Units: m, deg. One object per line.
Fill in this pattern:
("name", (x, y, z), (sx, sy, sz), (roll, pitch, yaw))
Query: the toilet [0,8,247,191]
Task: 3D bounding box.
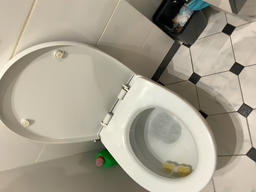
("toilet", (0.050, 0.130, 0.770), (0.520, 0.860, 0.380), (38, 106, 27))
